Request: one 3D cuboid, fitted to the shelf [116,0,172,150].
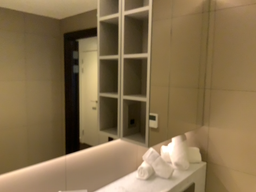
[{"bbox_3d":[0.100,-0.230,1.340,0.240,1.060,0.230,7,8,40],"label":"shelf"}]
